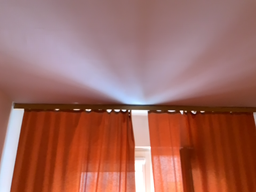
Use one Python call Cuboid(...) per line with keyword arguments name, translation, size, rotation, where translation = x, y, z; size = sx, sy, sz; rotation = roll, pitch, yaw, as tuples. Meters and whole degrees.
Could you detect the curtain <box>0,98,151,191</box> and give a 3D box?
Cuboid(name="curtain", translation=(-0.460, 1.070, 1.870), size=(1.330, 2.130, 0.150), rotation=(2, -21, -6))
